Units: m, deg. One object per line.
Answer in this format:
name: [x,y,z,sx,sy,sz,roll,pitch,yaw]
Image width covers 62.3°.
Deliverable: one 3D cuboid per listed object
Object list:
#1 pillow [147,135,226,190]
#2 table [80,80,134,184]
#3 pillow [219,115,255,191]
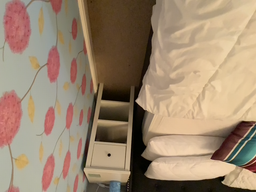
pillow: [0.440,0.550,1.730,0.520,0.400,0.210,4,-141,0]
table: [-0.160,0.340,1.970,0.360,0.540,0.790,4,-121,-1]
pillow: [0.950,0.380,1.530,0.460,0.420,0.230,-10,-153,-29]
